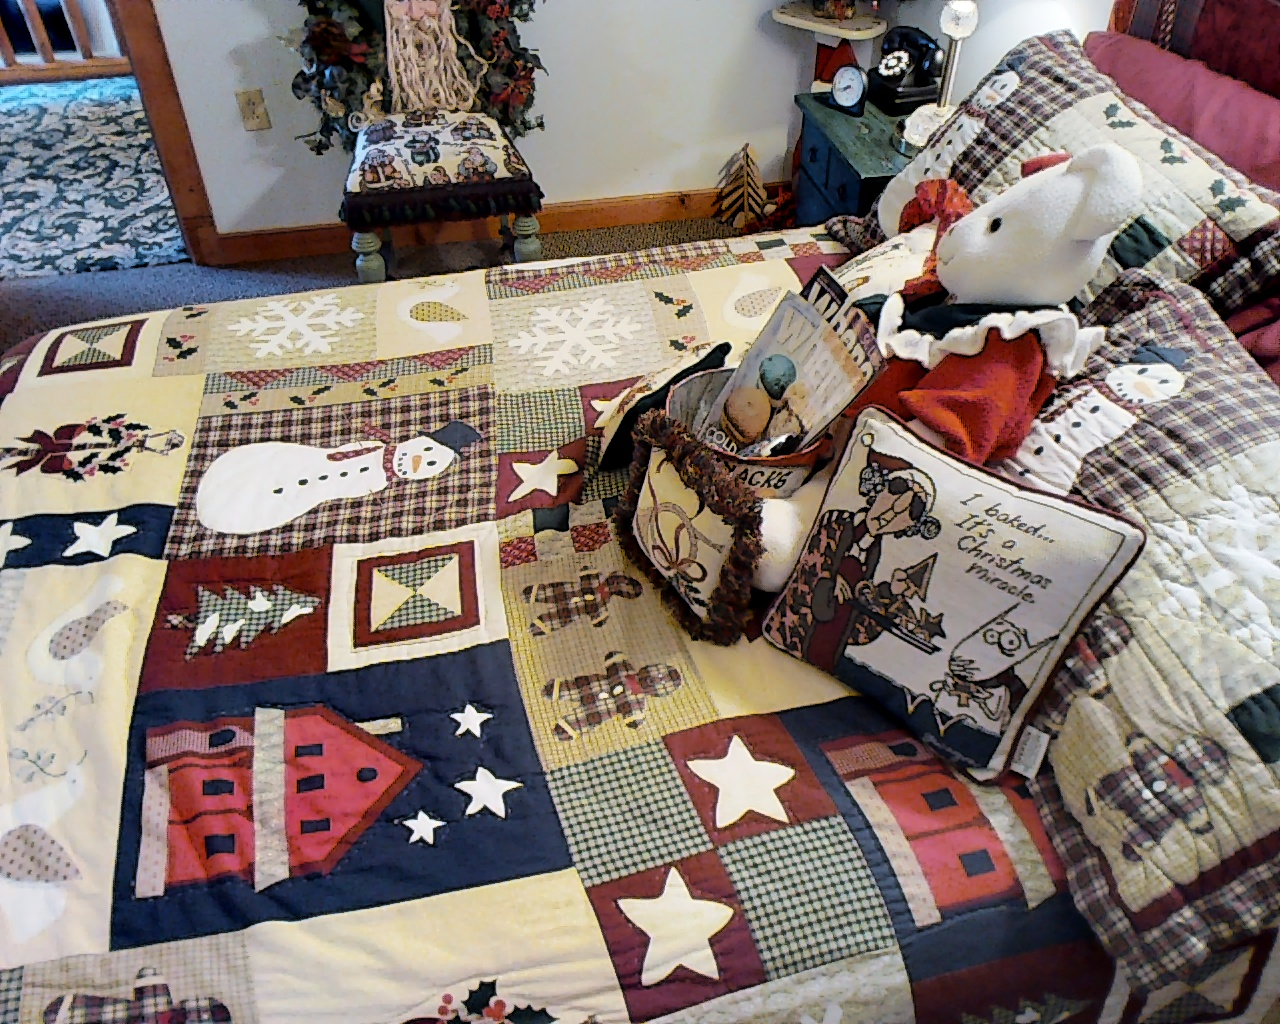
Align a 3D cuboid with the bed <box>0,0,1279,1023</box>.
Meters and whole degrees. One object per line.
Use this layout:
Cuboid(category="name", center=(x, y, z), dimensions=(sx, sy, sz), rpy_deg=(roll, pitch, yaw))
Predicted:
Cuboid(category="bed", center=(-0.070, -0.110, 1.300), dimensions=(2.120, 1.490, 1.420), rpy_deg=(-7, 44, -9))
